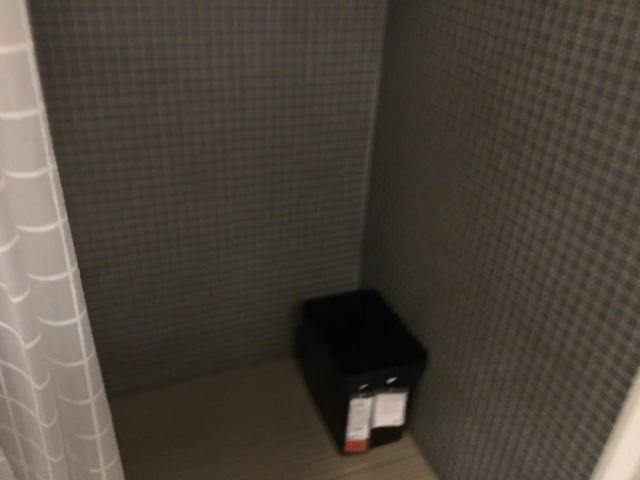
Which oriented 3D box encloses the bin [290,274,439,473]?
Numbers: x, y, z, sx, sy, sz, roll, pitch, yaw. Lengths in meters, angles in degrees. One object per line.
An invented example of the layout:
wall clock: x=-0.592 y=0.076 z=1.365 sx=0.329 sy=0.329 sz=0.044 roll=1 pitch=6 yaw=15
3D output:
bin: x=0.100 y=0.350 z=1.600 sx=0.240 sy=0.320 sz=0.380 roll=-11 pitch=32 yaw=-22
